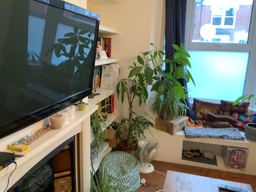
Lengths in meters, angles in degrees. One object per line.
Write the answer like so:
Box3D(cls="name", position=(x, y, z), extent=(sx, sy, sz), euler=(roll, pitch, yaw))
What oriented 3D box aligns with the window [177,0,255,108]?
Box3D(cls="window", position=(1.460, -0.820, 3.240), extent=(1.220, 1.930, 0.150), euler=(5, 14, 14))
